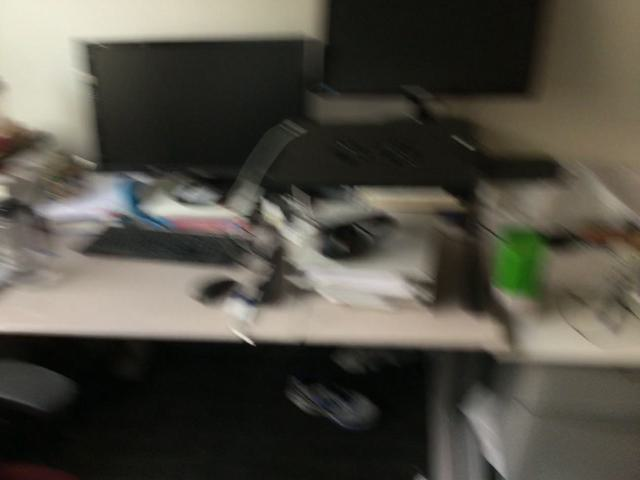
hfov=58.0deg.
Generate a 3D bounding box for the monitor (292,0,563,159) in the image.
[{"bbox_3d":[0.250,-0.480,1.440,0.580,0.460,0.290,-1,29,7],"label":"monitor"}]

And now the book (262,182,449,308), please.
[{"bbox_3d":[0.090,0.000,1.360,0.380,0.130,0.360,-1,29,7],"label":"book"}]

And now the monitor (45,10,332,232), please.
[{"bbox_3d":[-0.310,-0.330,1.610,0.630,0.500,0.340,-1,29,7],"label":"monitor"}]
